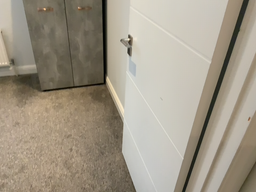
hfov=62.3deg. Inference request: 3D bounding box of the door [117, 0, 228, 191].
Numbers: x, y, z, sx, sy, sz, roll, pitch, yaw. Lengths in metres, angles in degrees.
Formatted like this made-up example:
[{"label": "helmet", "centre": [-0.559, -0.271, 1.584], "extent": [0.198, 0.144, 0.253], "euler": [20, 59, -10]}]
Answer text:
[{"label": "door", "centre": [0.100, -0.170, 0.980], "extent": [0.050, 1.960, 0.720], "euler": [-7, 35, -16]}]
